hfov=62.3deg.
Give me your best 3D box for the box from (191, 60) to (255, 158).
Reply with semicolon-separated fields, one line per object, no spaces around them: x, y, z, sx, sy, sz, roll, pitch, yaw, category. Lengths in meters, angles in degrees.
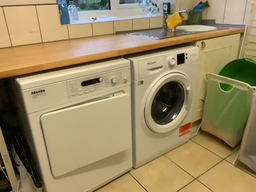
0.920;0.070;1.810;0.620;0.580;0.370;-18;29;-30;box
